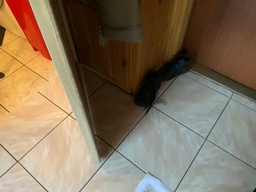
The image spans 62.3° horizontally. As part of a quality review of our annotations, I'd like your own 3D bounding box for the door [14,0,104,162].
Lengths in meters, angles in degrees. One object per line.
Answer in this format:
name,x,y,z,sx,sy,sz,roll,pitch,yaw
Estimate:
door,-0.300,-0.570,0.570,0.100,2.040,0.820,-15,55,-11
